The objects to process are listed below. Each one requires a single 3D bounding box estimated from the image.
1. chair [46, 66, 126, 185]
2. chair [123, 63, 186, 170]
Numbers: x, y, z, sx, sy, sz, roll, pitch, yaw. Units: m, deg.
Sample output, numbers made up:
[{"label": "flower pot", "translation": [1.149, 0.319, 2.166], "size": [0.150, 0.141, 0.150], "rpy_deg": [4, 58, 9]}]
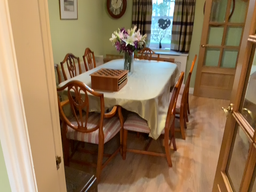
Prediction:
[{"label": "chair", "translation": [-0.350, 0.250, 2.050], "size": [0.520, 0.940, 0.510], "rpy_deg": [7, 22, 15]}, {"label": "chair", "translation": [0.270, 0.190, 2.230], "size": [0.510, 0.960, 0.440], "rpy_deg": [8, 21, 17]}]
